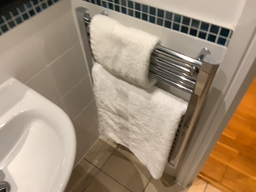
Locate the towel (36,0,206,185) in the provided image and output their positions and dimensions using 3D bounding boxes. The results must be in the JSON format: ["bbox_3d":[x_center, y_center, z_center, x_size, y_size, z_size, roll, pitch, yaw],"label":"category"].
[{"bbox_3d":[-0.020,0.040,0.910,0.460,0.780,0.200,27,57,23],"label":"towel"}]

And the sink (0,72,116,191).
[{"bbox_3d":[-0.370,0.240,0.580,0.410,0.180,0.550,27,57,23],"label":"sink"}]
